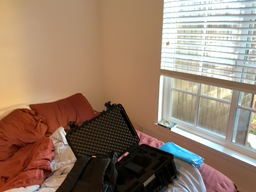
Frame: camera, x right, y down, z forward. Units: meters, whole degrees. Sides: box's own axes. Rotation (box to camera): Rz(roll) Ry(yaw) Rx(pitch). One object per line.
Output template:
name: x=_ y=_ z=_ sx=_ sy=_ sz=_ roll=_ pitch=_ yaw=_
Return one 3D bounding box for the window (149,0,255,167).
window: x=0.830 y=-0.230 z=1.770 sx=0.110 sy=1.490 sz=1.600 roll=-15 pitch=24 yaw=-40
